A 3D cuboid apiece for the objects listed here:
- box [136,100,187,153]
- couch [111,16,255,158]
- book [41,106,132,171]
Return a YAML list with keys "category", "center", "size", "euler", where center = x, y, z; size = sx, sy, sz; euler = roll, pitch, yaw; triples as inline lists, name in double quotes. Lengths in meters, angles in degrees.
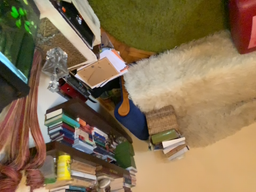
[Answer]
- category: "box"
  center: [0.330, 0.310, 2.090]
  size: [0.390, 0.370, 0.300]
  euler: [-14, 150, 12]
- category: "couch"
  center: [0.990, -0.110, 1.860]
  size: [2.150, 0.770, 0.670]
  euler: [-16, 149, 16]
- category: "book"
  center: [-0.280, 0.440, 1.890]
  size: [0.170, 0.270, 1.100]
  euler: [-18, 149, 19]
